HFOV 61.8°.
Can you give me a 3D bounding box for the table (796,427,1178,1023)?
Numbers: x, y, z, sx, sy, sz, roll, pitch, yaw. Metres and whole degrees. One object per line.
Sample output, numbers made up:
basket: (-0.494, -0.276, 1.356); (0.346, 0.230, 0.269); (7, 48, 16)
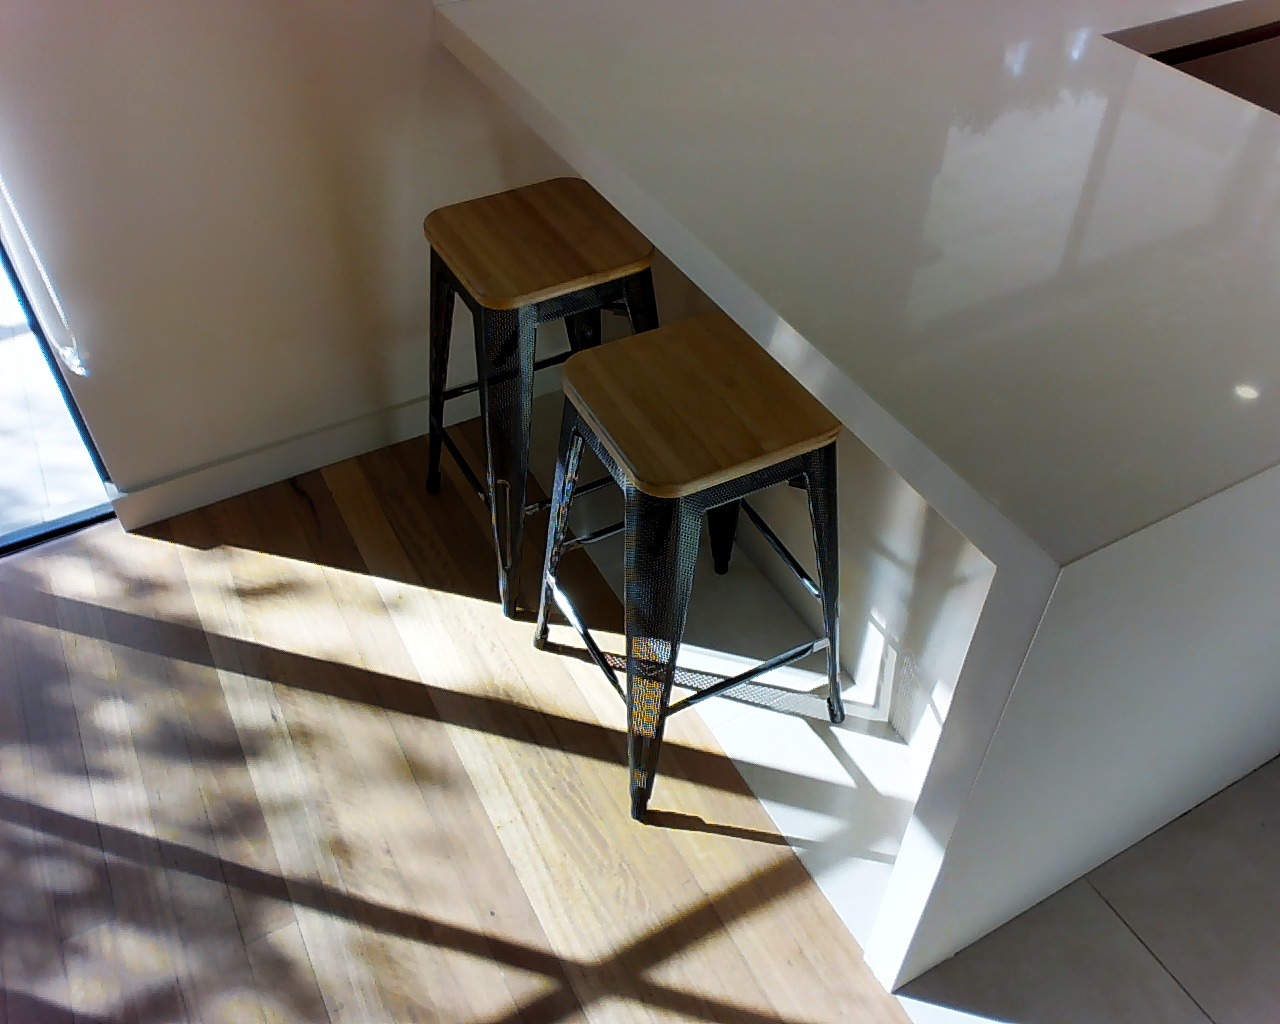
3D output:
table: (0.330, 0.330, 1.230); (0.060, 0.880, 0.280); (-21, 48, -21)
